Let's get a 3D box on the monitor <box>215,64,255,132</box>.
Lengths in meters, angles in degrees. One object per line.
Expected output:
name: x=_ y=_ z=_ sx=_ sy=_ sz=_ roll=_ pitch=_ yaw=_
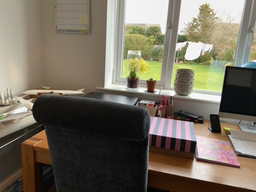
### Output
monitor: x=0.940 y=0.040 z=1.510 sx=0.500 sy=0.440 sz=0.050 roll=13 pitch=15 yaw=11

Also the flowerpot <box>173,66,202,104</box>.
flowerpot: x=0.510 y=-0.100 z=1.850 sx=0.200 sy=0.280 sz=0.190 roll=7 pitch=14 yaw=11

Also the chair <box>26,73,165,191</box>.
chair: x=-0.110 y=0.480 z=1.120 sx=0.440 sy=1.090 sz=0.630 roll=7 pitch=14 yaw=12
